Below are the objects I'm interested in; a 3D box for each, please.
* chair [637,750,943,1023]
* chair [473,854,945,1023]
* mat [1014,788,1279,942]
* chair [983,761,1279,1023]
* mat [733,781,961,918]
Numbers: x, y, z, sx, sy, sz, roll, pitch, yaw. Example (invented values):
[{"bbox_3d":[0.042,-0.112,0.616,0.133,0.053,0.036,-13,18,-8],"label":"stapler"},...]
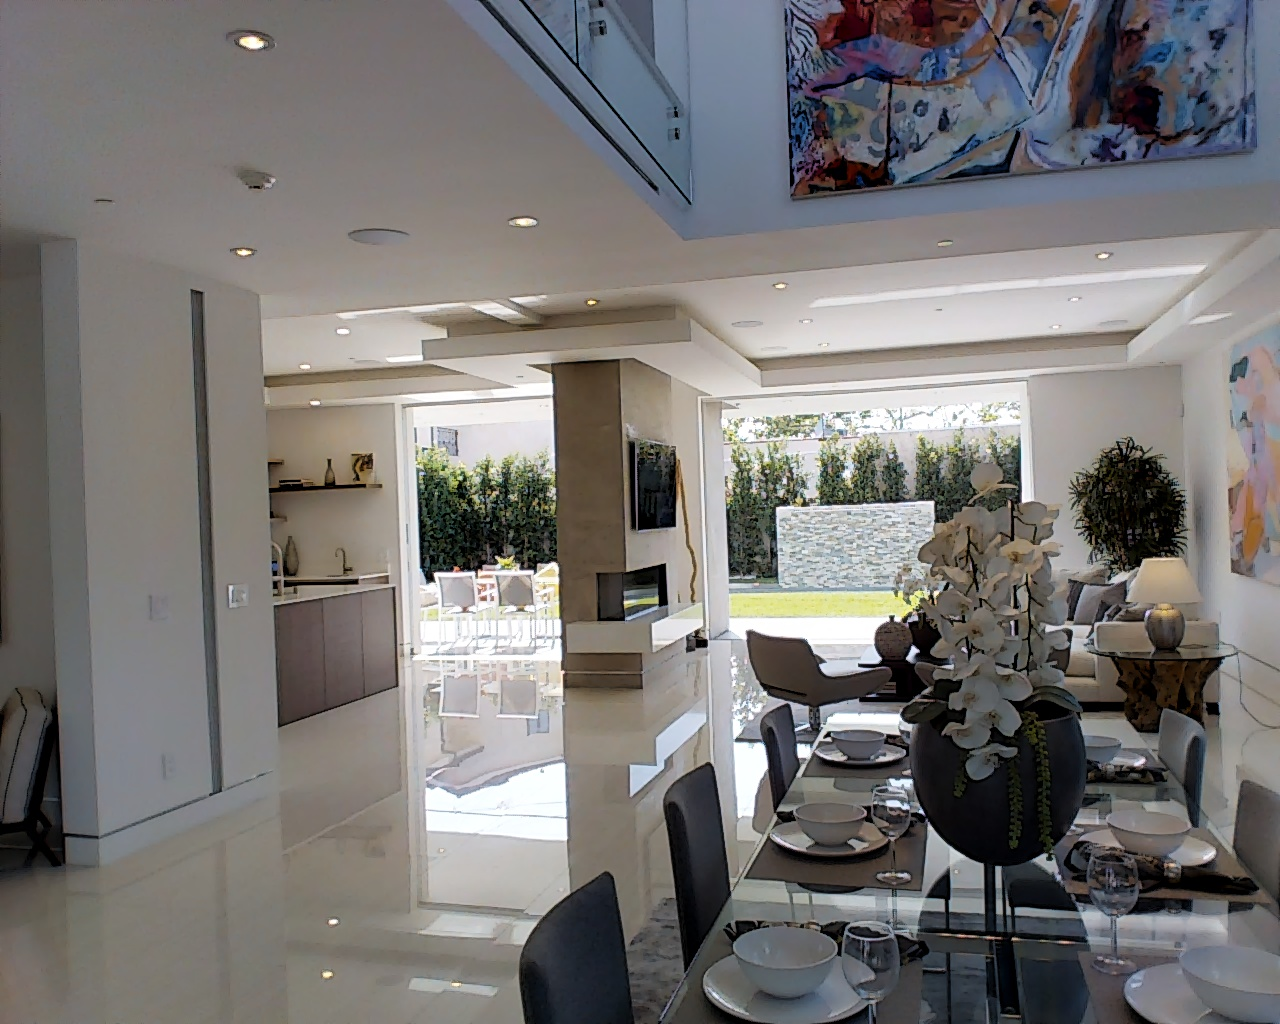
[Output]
[{"bbox_3d":[0.370,1.050,2.480,0.620,0.890,0.450,-2,0,15],"label":"chair"},{"bbox_3d":[0.150,1.060,1.690,0.650,0.870,0.460,-2,0,15],"label":"chair"},{"bbox_3d":[1.050,0.730,2.290,0.440,0.140,0.510,-2,0,16],"label":"mat"},{"bbox_3d":[1.070,1.030,2.290,0.600,0.850,0.540,-2,1,16],"label":"chair"},{"bbox_3d":[0.480,0.740,2.420,0.450,0.130,0.500,-2,0,16],"label":"mat"}]
